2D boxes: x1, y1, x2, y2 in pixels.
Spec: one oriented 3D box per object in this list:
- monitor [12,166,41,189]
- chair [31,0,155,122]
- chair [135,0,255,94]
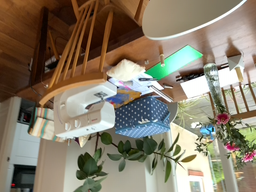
[{"bbox_3d":[-1.810,1.450,3.790,0.420,0.360,0.210,9,154,-26],"label":"monitor"},{"bbox_3d":[-0.180,-0.380,1.260,0.410,0.920,0.470,-18,152,32],"label":"chair"},{"bbox_3d":[0.330,-0.540,1.040,0.410,0.870,0.520,-16,153,28],"label":"chair"}]
